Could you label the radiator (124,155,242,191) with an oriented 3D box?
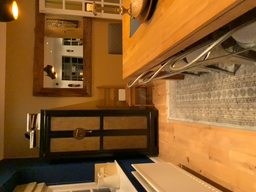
[{"bbox_3d":[0.470,0.810,1.970,1.800,0.630,0.090,166,104,-76],"label":"radiator"}]
